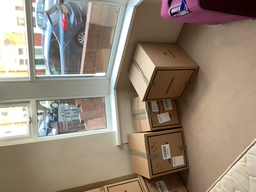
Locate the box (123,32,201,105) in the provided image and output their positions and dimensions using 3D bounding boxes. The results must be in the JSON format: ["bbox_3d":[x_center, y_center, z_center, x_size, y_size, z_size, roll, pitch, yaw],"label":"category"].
[{"bbox_3d":[0.340,-0.310,2.400,0.520,0.540,0.590,-117,34,-41],"label":"box"}]
